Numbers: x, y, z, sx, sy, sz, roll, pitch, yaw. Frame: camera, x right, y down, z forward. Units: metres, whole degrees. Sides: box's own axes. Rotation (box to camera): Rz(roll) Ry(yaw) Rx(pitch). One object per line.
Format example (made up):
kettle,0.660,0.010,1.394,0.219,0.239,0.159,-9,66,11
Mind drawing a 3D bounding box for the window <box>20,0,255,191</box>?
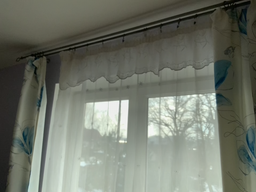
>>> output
window,0.040,0.780,1.140,1.730,2.680,0.180,-3,-13,28
